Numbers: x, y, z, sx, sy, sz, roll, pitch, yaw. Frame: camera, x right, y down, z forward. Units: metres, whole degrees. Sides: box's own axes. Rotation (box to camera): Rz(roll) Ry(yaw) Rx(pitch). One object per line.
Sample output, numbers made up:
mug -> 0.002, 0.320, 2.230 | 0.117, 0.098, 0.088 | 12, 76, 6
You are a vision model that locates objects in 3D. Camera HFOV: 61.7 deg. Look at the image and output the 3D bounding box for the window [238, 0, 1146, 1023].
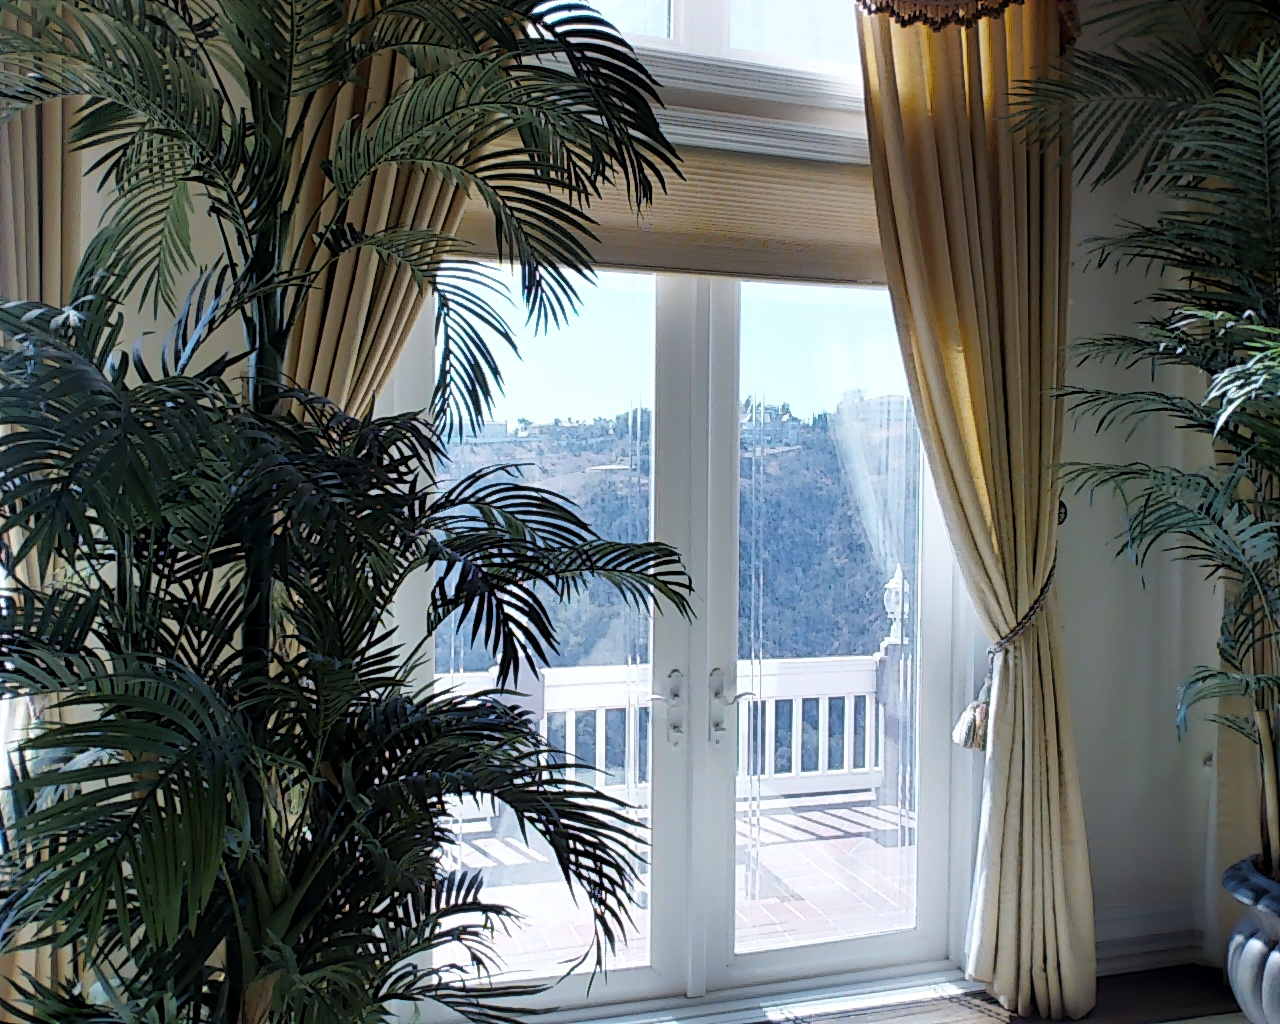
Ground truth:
window -> 0.260, 0.260, 3.030 | 2.600, 4.179, 0.150 | 0, 1, -16
